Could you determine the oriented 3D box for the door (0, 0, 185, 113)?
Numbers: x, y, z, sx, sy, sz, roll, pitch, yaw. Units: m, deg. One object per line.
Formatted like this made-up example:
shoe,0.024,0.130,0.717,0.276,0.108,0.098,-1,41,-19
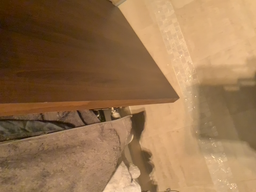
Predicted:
door,-0.420,-0.260,0.410,0.030,1.970,0.700,-42,69,26
